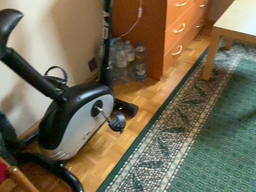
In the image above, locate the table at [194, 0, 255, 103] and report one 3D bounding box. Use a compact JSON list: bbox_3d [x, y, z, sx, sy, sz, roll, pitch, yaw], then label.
[{"bbox_3d":[0.920,-0.350,1.570,0.580,0.460,0.570,25,52,27],"label":"table"}]
